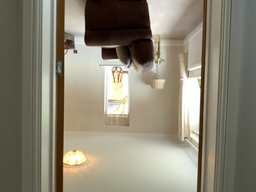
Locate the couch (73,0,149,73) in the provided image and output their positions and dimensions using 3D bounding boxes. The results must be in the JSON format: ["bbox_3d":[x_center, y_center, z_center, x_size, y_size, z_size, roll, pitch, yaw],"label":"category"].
[{"bbox_3d":[-0.170,-0.840,3.170,0.880,0.870,1.420,1,-177,2],"label":"couch"}]
